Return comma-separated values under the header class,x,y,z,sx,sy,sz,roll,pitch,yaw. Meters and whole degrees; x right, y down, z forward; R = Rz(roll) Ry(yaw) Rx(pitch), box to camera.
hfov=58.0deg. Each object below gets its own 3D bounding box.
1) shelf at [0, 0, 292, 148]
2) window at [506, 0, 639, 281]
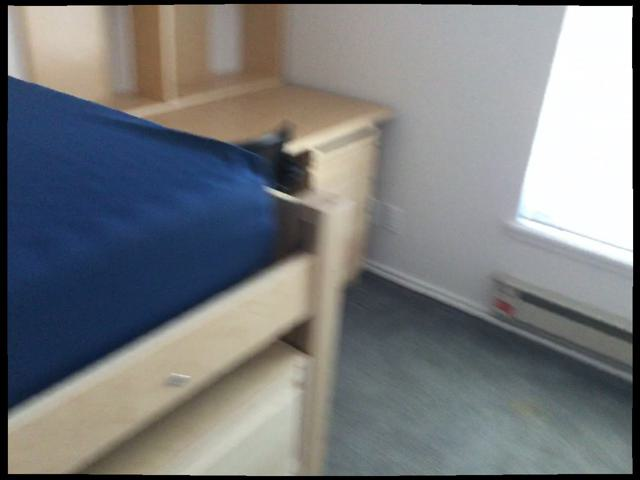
class,x,y,z,sx,sy,sz,roll,pitch,yaw
shelf,-0.629,-0.862,2.000,0.320,0.771,1.239,24,34,32
window,1.068,-0.301,1.770,0.769,0.851,0.210,24,34,32
